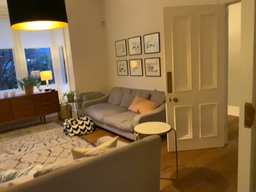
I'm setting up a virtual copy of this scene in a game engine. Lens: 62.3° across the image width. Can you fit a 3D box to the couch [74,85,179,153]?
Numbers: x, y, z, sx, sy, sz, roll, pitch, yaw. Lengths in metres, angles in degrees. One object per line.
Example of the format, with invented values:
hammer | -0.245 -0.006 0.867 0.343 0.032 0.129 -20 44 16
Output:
couch | -0.150 0.290 4.270 1.040 0.750 2.100 -11 13 -35
